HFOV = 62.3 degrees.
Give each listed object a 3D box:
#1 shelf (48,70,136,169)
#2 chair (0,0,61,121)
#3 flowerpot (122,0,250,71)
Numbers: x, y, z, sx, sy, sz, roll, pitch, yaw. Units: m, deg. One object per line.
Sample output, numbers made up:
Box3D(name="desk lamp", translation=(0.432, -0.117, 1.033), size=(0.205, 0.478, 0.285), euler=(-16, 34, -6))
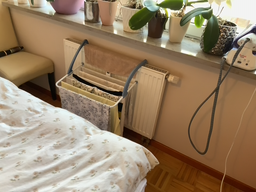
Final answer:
Box3D(name="shelf", translation=(-0.290, 0.170, 1.710), size=(0.560, 0.520, 0.330), euler=(24, 37, 23))
Box3D(name="chair", translation=(-1.090, -0.390, 2.000), size=(0.700, 0.960, 0.460), euler=(23, 37, 22))
Box3D(name="flowerpot", translation=(0.330, -0.490, 1.320), size=(0.650, 0.390, 0.300), euler=(26, 38, 26))
